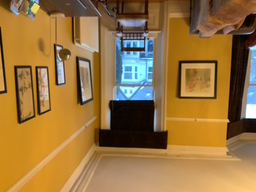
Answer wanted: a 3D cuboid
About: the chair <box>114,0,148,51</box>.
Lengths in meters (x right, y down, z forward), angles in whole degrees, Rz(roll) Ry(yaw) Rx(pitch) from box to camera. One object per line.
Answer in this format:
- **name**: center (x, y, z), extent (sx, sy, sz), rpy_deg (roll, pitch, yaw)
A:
- **chair**: center (0.080, -1.390, 4.090), extent (0.570, 0.970, 0.730), rpy_deg (2, -173, 5)
